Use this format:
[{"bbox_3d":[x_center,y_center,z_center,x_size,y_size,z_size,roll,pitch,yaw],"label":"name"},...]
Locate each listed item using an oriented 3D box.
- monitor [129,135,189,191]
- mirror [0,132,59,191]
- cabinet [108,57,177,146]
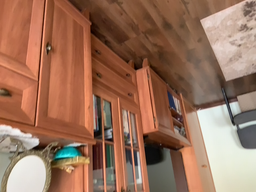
[{"bbox_3d":[0.380,0.840,2.240,0.100,0.680,1.100,-19,153,29],"label":"monitor"},{"bbox_3d":[-0.460,0.360,0.930,0.180,0.340,0.220,-19,153,29],"label":"mirror"},{"bbox_3d":[0.140,0.090,2.270,0.500,0.750,0.470,-17,153,26],"label":"cabinet"}]
